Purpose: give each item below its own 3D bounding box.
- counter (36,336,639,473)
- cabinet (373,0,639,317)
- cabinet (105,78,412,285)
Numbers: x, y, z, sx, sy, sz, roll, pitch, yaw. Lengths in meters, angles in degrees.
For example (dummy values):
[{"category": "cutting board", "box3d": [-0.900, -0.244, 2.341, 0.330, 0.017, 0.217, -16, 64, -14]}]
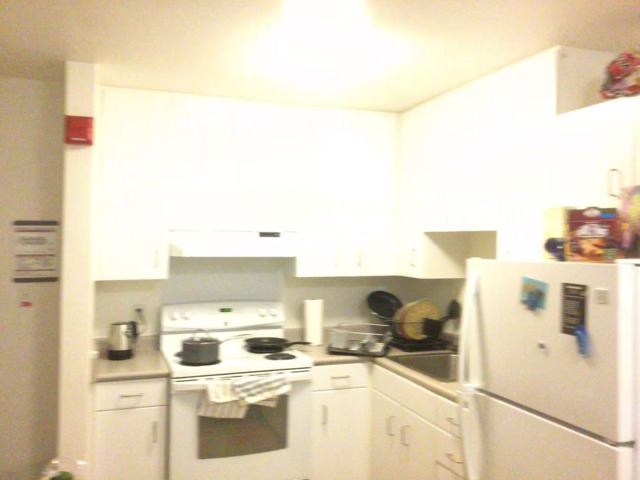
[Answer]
[{"category": "counter", "box3d": [-0.040, 0.670, 2.850, 2.220, 0.050, 1.790, 1, -1, -18]}, {"category": "cabinet", "box3d": [0.890, -0.280, 2.610, 0.470, 1.040, 2.140, 1, -1, -18]}, {"category": "cabinet", "box3d": [-0.330, -0.280, 3.380, 1.710, 1.050, 0.400, 1, -1, -18]}]
